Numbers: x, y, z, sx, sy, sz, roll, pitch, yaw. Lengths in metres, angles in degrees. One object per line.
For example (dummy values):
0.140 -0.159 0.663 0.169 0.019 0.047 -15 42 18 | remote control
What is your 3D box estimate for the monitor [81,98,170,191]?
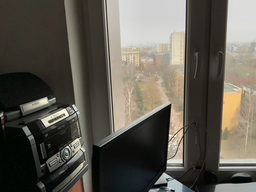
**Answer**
0.040 0.260 0.840 0.050 0.380 0.530 8 19 32 | monitor
